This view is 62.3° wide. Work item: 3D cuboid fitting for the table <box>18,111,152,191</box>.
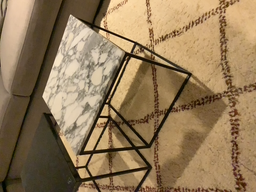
[{"bbox_3d":[-0.230,0.360,1.040,0.420,0.400,0.380,44,115,40],"label":"table"}]
